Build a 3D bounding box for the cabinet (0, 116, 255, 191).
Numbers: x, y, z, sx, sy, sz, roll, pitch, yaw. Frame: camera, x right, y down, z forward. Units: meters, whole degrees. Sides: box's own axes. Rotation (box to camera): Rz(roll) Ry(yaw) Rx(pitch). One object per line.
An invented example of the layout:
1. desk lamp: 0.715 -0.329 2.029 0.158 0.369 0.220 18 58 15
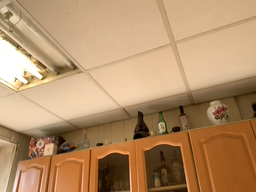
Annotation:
1. cabinet: 0.060 0.720 1.610 2.540 0.720 0.320 -14 -32 19
